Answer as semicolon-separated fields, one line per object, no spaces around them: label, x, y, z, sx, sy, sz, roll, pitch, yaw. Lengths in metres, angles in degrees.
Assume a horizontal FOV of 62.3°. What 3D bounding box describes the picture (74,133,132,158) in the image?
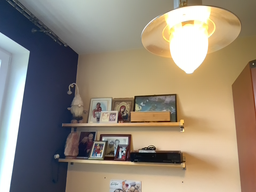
picture;-0.250;0.500;2.170;0.560;0.230;0.160;-2;-14;15

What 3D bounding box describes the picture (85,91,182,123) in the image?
picture;0.050;0.120;2.170;0.960;0.280;0.170;-1;-14;12
